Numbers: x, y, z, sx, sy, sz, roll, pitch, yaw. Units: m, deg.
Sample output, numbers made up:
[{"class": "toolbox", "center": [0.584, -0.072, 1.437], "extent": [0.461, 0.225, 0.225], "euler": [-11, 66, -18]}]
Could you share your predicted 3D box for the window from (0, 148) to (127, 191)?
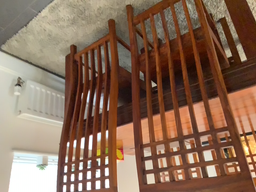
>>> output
[{"class": "window", "center": [-0.500, 1.220, 1.850], "extent": [0.110, 1.380, 1.530], "euler": [-22, 151, 32]}]

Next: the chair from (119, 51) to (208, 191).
[{"class": "chair", "center": [0.300, 0.280, 1.960], "extent": [0.440, 1.160, 0.560], "euler": [-21, 152, 30]}]
